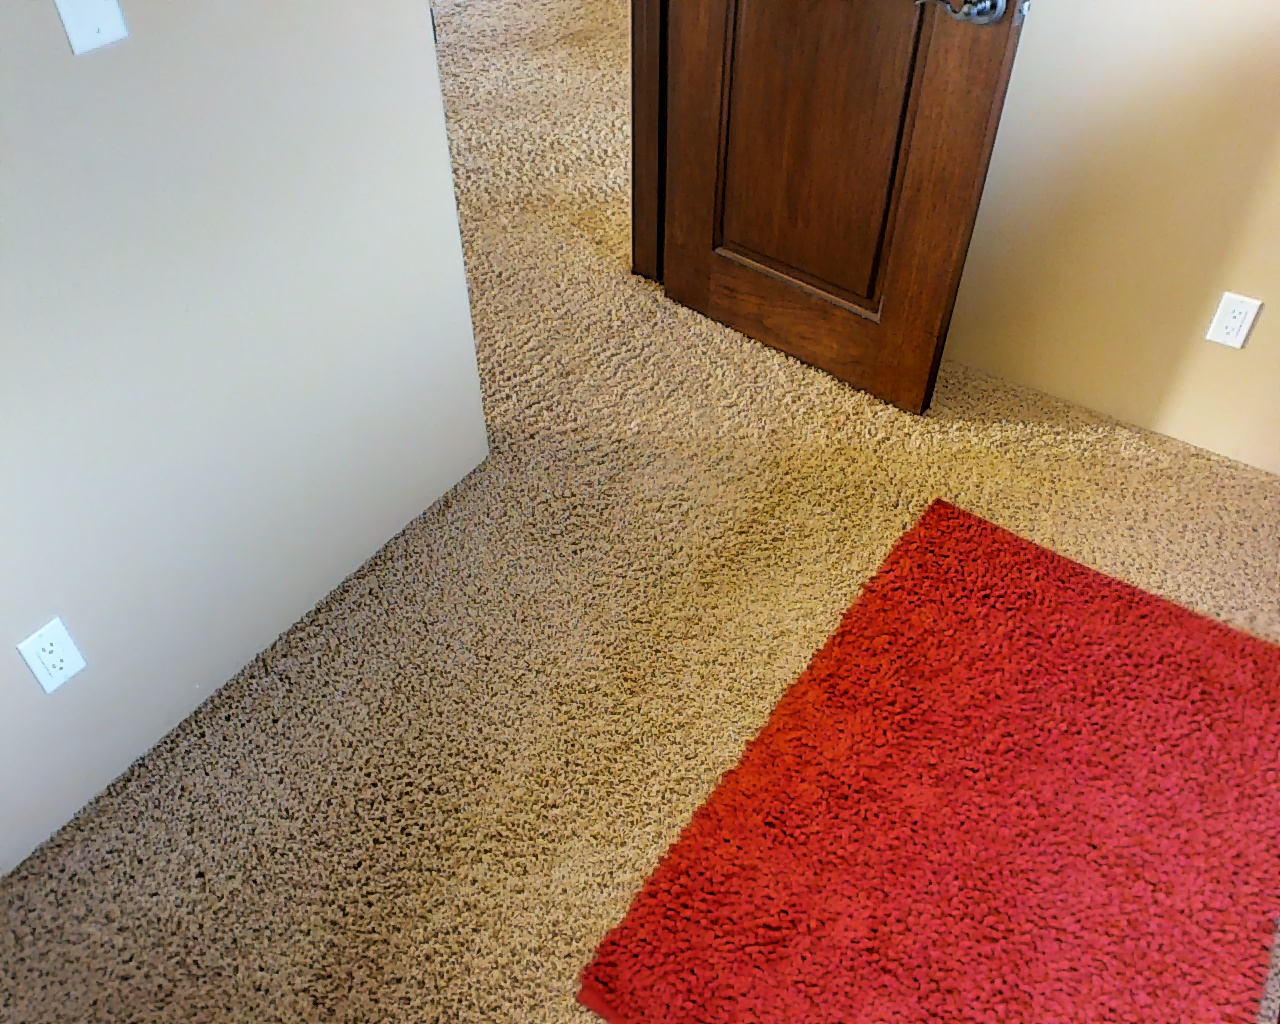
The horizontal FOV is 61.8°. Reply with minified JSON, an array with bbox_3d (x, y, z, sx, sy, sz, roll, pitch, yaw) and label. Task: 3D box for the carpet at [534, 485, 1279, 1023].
[{"bbox_3d":[0.550,0.480,1.690,0.790,0.020,1.280,27,51,26],"label":"carpet"}]
